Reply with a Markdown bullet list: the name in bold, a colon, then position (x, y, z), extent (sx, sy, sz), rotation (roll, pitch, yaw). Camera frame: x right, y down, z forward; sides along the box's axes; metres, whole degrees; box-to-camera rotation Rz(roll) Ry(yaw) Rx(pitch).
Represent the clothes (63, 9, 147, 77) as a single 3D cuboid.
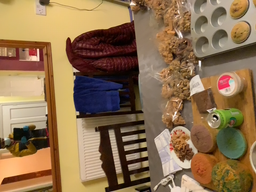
- **clothes**: position (-0.210, -0.470, 2.040), extent (0.220, 0.740, 0.540), rotation (-16, 79, 61)
